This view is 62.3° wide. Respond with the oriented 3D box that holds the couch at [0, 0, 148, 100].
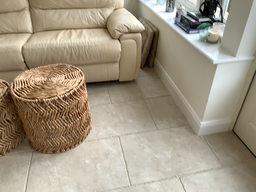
[{"bbox_3d":[-0.940,-0.650,2.030,2.050,0.950,0.920,-6,37,-8],"label":"couch"}]
